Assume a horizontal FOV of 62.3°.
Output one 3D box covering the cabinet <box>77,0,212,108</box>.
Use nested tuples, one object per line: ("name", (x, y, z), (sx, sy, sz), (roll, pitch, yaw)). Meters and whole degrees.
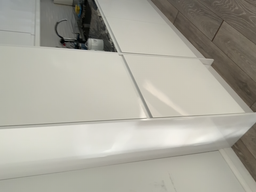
("cabinet", (0.010, -0.660, 2.370), (1.590, 0.880, 0.590), (-113, 31, -42))
